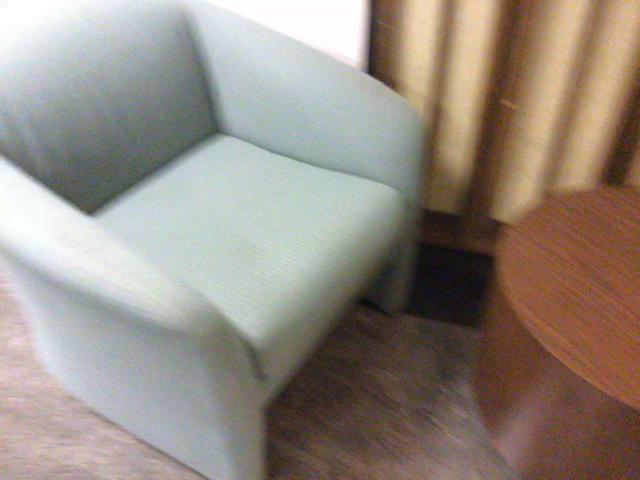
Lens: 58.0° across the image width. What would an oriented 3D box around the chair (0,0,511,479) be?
[{"bbox_3d":[-0.280,-0.030,1.380,0.940,0.770,1.050,27,45,20],"label":"chair"}]
